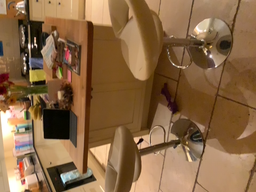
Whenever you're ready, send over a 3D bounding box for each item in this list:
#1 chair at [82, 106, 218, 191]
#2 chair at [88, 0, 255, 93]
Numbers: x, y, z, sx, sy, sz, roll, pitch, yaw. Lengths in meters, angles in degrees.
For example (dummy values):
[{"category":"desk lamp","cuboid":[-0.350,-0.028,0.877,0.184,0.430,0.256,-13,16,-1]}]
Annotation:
[{"category":"chair","cuboid":[0.160,0.460,1.700,0.470,0.860,0.480,60,140,32]},{"category":"chair","cuboid":[0.280,-0.390,1.390,0.490,0.860,0.520,-39,63,52]}]
